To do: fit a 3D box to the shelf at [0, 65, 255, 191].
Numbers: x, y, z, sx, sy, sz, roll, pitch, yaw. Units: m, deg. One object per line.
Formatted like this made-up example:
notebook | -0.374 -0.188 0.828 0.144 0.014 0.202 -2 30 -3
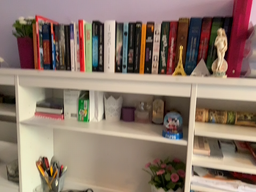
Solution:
shelf | -0.110 0.190 0.940 1.520 0.620 0.290 4 8 16
